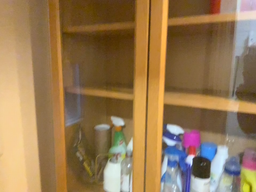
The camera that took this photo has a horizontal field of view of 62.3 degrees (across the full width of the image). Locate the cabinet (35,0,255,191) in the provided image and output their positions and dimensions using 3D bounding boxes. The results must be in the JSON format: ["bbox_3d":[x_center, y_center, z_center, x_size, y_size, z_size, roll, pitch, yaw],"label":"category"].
[{"bbox_3d":[0.100,0.460,0.840,0.870,2.030,0.310,6,11,28],"label":"cabinet"}]
